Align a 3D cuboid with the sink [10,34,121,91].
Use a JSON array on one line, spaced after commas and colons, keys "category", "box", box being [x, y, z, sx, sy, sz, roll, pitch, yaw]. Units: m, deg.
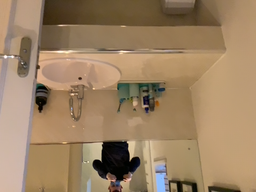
[{"category": "sink", "box": [-0.360, -0.200, 1.430, 0.600, 0.180, 0.480, -1, 162, -4]}]
